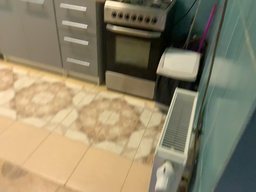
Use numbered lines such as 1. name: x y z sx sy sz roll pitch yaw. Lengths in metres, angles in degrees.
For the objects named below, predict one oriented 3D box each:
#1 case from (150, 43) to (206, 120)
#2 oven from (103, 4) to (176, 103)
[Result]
1. case: 0.430 -0.130 1.850 0.330 0.520 0.320 15 38 14
2. oven: 0.120 -0.450 2.110 0.490 0.680 0.660 15 38 13
